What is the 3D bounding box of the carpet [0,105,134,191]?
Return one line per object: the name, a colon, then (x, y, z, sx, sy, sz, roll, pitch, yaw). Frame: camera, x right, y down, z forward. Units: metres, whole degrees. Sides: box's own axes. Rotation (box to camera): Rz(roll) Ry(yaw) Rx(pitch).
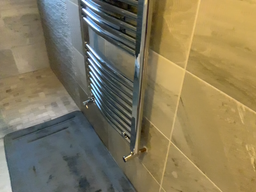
carpet: (-0.450, 0.420, 1.370, 0.600, 0.050, 0.920, -19, 42, -26)
